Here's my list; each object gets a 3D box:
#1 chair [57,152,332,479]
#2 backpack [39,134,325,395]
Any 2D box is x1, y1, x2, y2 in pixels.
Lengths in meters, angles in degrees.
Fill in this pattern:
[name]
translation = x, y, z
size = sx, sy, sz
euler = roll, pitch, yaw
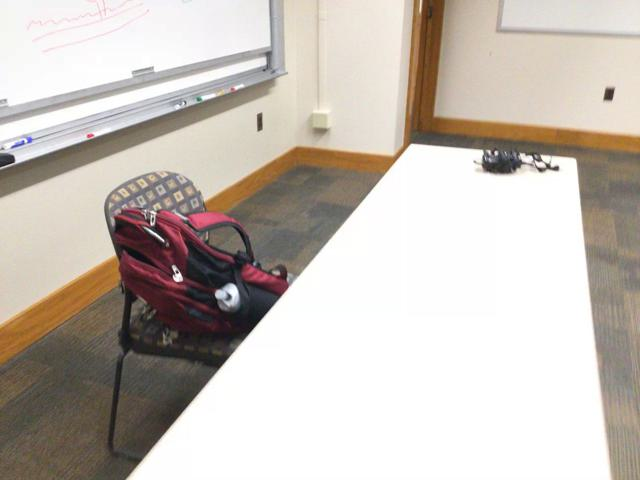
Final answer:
[chair]
translation = -0.310, 0.210, 1.700
size = 0.550, 0.770, 0.470
euler = 10, 27, 19
[backpack]
translation = -0.340, 0.070, 1.510
size = 0.400, 0.480, 0.400
euler = -17, 17, 38
